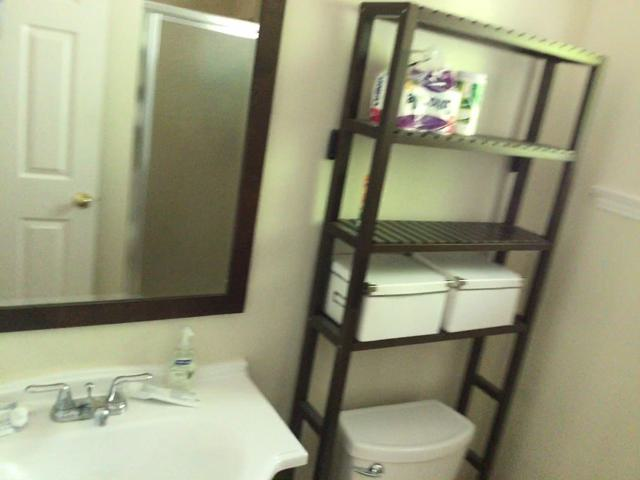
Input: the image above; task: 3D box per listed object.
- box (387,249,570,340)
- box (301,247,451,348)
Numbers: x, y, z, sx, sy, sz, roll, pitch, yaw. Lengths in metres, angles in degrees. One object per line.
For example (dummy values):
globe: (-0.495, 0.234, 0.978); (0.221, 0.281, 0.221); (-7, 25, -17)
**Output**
box: (0.460, 0.150, 1.670); (0.460, 0.170, 0.220); (3, 17, -31)
box: (0.140, 0.140, 1.480); (0.290, 0.180, 0.200); (3, 17, -31)
